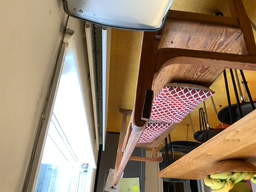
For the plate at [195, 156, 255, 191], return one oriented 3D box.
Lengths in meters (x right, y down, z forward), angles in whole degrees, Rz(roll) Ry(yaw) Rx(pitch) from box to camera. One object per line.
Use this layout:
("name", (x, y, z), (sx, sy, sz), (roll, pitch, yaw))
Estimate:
("plate", (0.670, 0.530, 1.390), (0.310, 0.180, 0.340), (5, 152, -6))
